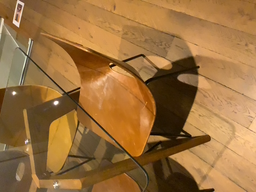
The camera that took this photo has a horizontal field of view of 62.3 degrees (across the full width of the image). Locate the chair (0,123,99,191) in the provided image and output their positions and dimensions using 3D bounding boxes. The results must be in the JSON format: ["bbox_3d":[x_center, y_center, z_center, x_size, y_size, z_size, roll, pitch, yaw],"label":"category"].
[{"bbox_3d":[-0.710,0.550,1.650,0.470,0.750,0.390,51,119,27],"label":"chair"}]

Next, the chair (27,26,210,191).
[{"bbox_3d":[0.010,0.030,1.070,0.390,0.770,0.470,31,108,34],"label":"chair"}]
